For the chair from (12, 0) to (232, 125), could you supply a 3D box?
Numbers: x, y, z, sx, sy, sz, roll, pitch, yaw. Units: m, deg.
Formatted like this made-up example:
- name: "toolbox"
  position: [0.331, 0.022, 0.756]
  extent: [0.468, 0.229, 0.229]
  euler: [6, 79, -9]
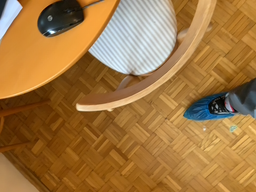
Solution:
- name: "chair"
  position: [0.030, -0.240, 0.830]
  extent: [0.360, 0.750, 0.420]
  euler: [-33, 88, 14]
